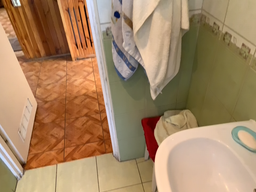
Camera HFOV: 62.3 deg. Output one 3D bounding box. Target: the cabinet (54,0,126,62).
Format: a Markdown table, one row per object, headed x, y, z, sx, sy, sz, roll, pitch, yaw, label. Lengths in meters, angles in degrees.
| x | y | z | sx | sy | sz | roll | pitch | yaw | label |
| --- | --- | --- | --- | --- | --- | --- | --- | --- | --- |
| -0.450 | -0.910 | 2.720 | 0.770 | 0.860 | 0.200 | -9 | 41 | -6 | cabinet |

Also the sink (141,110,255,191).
| x | y | z | sx | sy | sz | roll | pitch | yaw | label |
| --- | --- | --- | --- | --- | --- | --- | --- | --- | --- |
| 0.300 | 0.320 | 0.620 | 0.400 | 0.170 | 0.540 | -10 | 41 | -7 | sink |
